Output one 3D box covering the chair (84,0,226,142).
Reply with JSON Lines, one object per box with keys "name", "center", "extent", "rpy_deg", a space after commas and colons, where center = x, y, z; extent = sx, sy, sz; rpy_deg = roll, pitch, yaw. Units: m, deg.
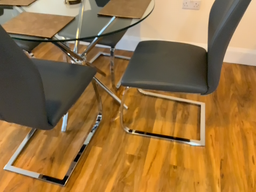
{"name": "chair", "center": [0.150, -0.270, 1.240], "extent": [0.570, 1.010, 0.450], "rpy_deg": [9, 43, 12]}
